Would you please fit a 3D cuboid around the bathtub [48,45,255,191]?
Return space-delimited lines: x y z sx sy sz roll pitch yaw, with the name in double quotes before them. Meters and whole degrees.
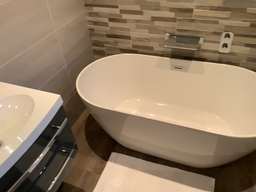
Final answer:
"bathtub" 0.320 0.110 1.730 1.580 0.560 0.800 12 43 19
